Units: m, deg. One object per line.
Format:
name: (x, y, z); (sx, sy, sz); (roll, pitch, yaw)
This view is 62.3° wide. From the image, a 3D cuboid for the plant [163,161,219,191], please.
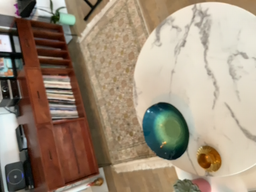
plant: (0.300, 0.470, 1.050); (0.170, 0.160, 0.190); (33, 116, 41)
